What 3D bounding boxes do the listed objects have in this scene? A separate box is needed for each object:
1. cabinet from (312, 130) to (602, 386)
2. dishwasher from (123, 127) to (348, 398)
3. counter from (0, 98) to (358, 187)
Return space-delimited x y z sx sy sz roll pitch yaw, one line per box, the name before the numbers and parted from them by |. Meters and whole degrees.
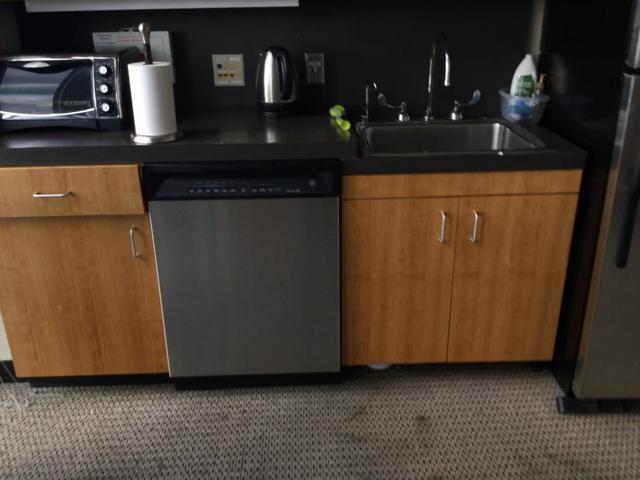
cabinet | 0.450 0.050 2.190 0.880 0.790 0.570 -1 22 4
dishwasher | -0.240 0.100 1.950 0.640 0.900 0.190 -1 22 4
counter | -0.480 -0.350 1.980 1.210 0.120 0.690 -1 22 4
